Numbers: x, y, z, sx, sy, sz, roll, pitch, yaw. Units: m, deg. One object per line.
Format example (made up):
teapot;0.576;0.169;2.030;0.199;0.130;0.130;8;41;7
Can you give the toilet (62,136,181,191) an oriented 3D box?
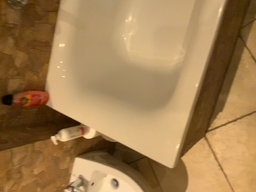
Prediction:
toilet;-0.040;0.530;1.230;0.500;0.410;0.350;20;102;28
